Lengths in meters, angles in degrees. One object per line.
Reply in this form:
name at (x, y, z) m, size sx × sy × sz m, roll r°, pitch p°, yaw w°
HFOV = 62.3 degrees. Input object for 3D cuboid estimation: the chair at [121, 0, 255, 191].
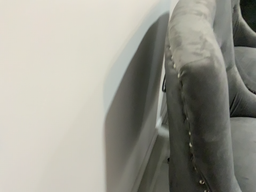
chair at (0.380, 0.180, 0.720) m, size 0.650 × 0.920 × 0.550 m, roll 14°, pitch 43°, yaw 14°

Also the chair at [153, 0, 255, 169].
chair at (0.580, -0.190, 1.130) m, size 0.660 × 0.920 × 0.590 m, roll 16°, pitch 44°, yaw 15°
